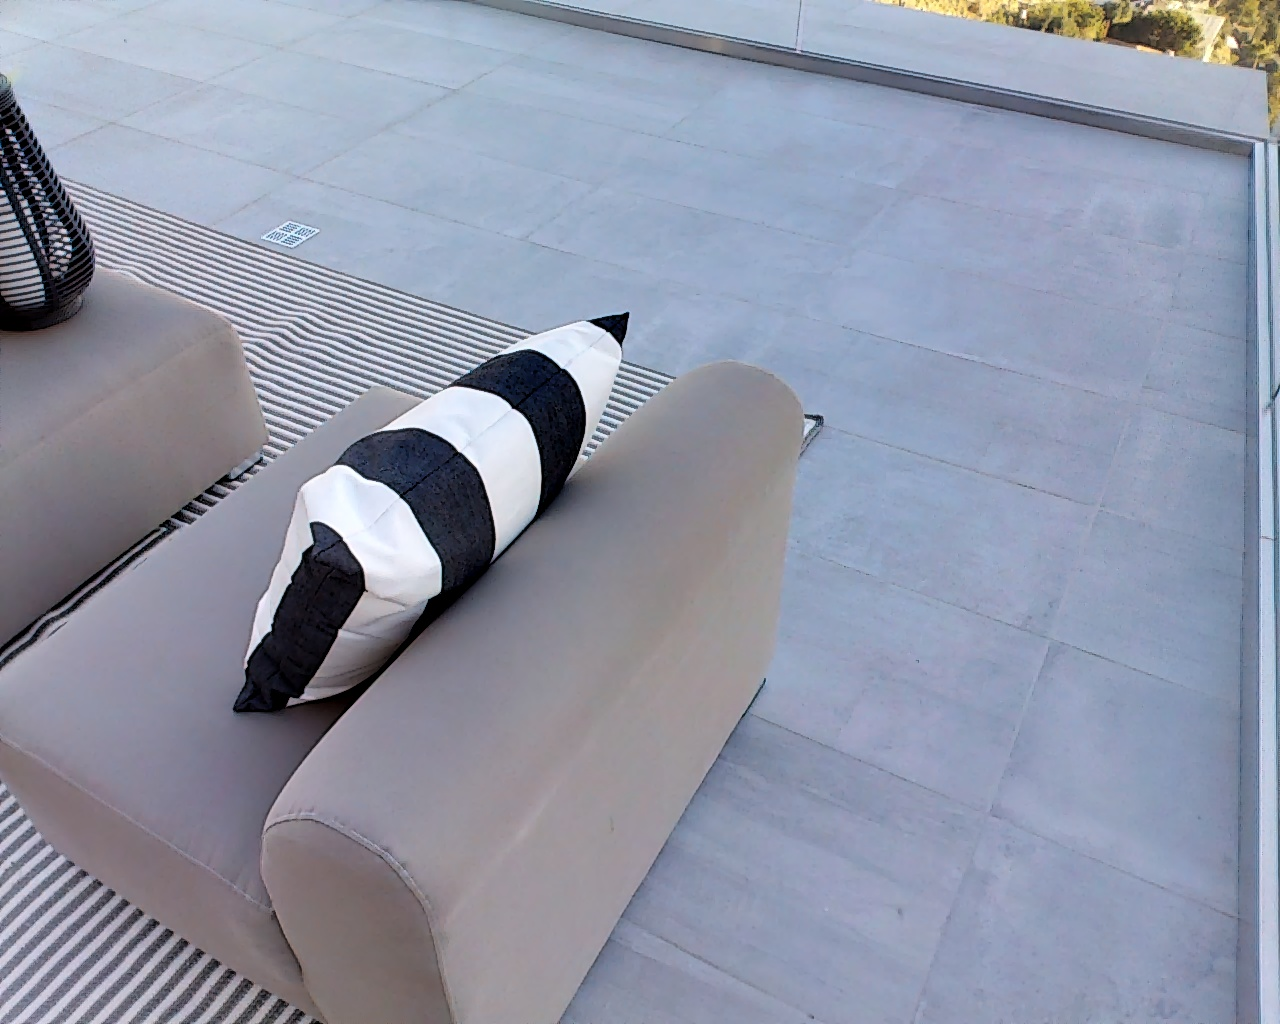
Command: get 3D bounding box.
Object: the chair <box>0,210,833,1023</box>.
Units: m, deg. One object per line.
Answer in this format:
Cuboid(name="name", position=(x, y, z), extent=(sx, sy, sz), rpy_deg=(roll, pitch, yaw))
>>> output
Cuboid(name="chair", position=(-0.370, 0.160, 1.660), extent=(0.950, 0.700, 0.960), rpy_deg=(21, 46, 21))
